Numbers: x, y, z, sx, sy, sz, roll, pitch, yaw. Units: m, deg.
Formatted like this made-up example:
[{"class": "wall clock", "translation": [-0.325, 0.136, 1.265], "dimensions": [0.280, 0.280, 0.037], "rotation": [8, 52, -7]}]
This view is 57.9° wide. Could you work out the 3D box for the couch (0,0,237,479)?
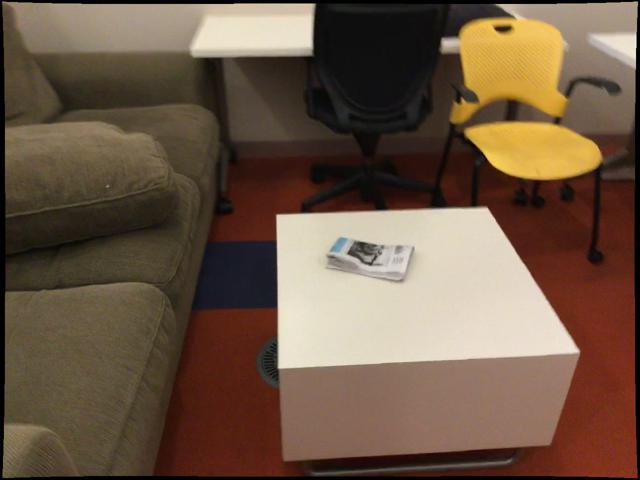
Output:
[{"class": "couch", "translation": [-0.889, -0.080, 1.680], "dimensions": [1.139, 0.871, 2.271], "rotation": [-1, 35, -5]}]
